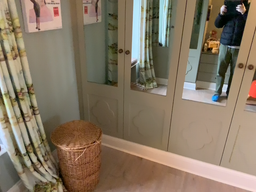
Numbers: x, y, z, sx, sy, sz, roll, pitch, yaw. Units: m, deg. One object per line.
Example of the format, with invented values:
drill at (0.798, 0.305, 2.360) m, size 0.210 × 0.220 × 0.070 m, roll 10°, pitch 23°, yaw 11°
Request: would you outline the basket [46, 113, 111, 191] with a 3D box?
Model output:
basket at (-0.430, 0.540, 1.990) m, size 0.360 × 0.550 × 0.440 m, roll 12°, pitch 27°, yaw 21°
